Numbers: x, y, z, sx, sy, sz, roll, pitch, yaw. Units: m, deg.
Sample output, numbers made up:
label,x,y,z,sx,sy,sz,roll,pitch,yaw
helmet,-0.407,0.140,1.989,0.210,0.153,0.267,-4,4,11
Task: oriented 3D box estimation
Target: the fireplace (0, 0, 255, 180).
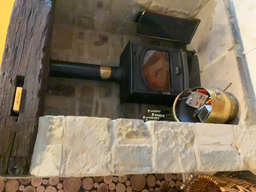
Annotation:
label,x,y,z,sx,sy,sz,roll,pitch,yaw
fireplace,0.000,-0.290,1.870,0.880,1.700,1.830,135,137,-64
